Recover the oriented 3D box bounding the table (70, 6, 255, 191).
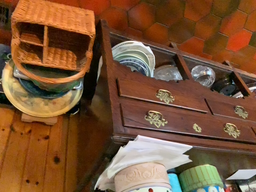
[{"bbox_3d":[0.430,0.120,1.280,1.400,0.740,0.520,12,134,-24],"label":"table"}]
